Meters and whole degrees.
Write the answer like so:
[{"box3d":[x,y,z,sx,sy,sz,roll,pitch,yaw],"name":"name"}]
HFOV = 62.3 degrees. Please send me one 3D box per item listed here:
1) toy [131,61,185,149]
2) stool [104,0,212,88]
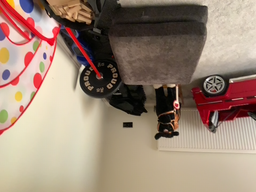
[{"box3d":[0.390,0.180,2.530,0.490,0.740,0.990,-2,157,12],"name":"toy"},{"box3d":[0.240,-0.370,1.780,0.690,0.320,0.750,0,158,8],"name":"stool"}]
